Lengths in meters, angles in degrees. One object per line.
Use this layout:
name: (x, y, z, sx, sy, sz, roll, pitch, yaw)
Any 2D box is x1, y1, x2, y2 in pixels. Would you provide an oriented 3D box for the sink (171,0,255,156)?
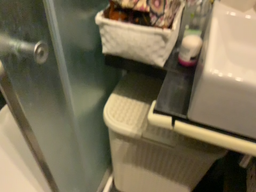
sink: (0.420, -0.050, 0.510, 0.530, 0.160, 0.430, 15, 45, 12)
